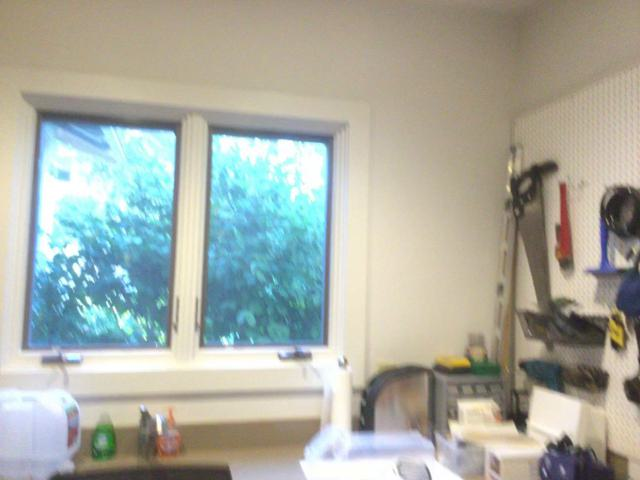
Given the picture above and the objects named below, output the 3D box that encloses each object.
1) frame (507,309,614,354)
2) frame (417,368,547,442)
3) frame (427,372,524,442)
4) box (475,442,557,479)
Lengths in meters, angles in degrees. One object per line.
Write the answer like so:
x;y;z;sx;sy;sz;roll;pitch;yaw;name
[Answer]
0.790;0.300;1.930;0.180;0.120;0.320;3;-5;-13;frame
0.590;0.600;2.140;0.380;0.210;0.270;3;-5;-13;frame
0.550;0.590;2.070;0.260;0.200;0.220;3;-5;-13;frame
0.590;0.690;1.750;0.190;0.110;0.140;3;-5;-13;box
